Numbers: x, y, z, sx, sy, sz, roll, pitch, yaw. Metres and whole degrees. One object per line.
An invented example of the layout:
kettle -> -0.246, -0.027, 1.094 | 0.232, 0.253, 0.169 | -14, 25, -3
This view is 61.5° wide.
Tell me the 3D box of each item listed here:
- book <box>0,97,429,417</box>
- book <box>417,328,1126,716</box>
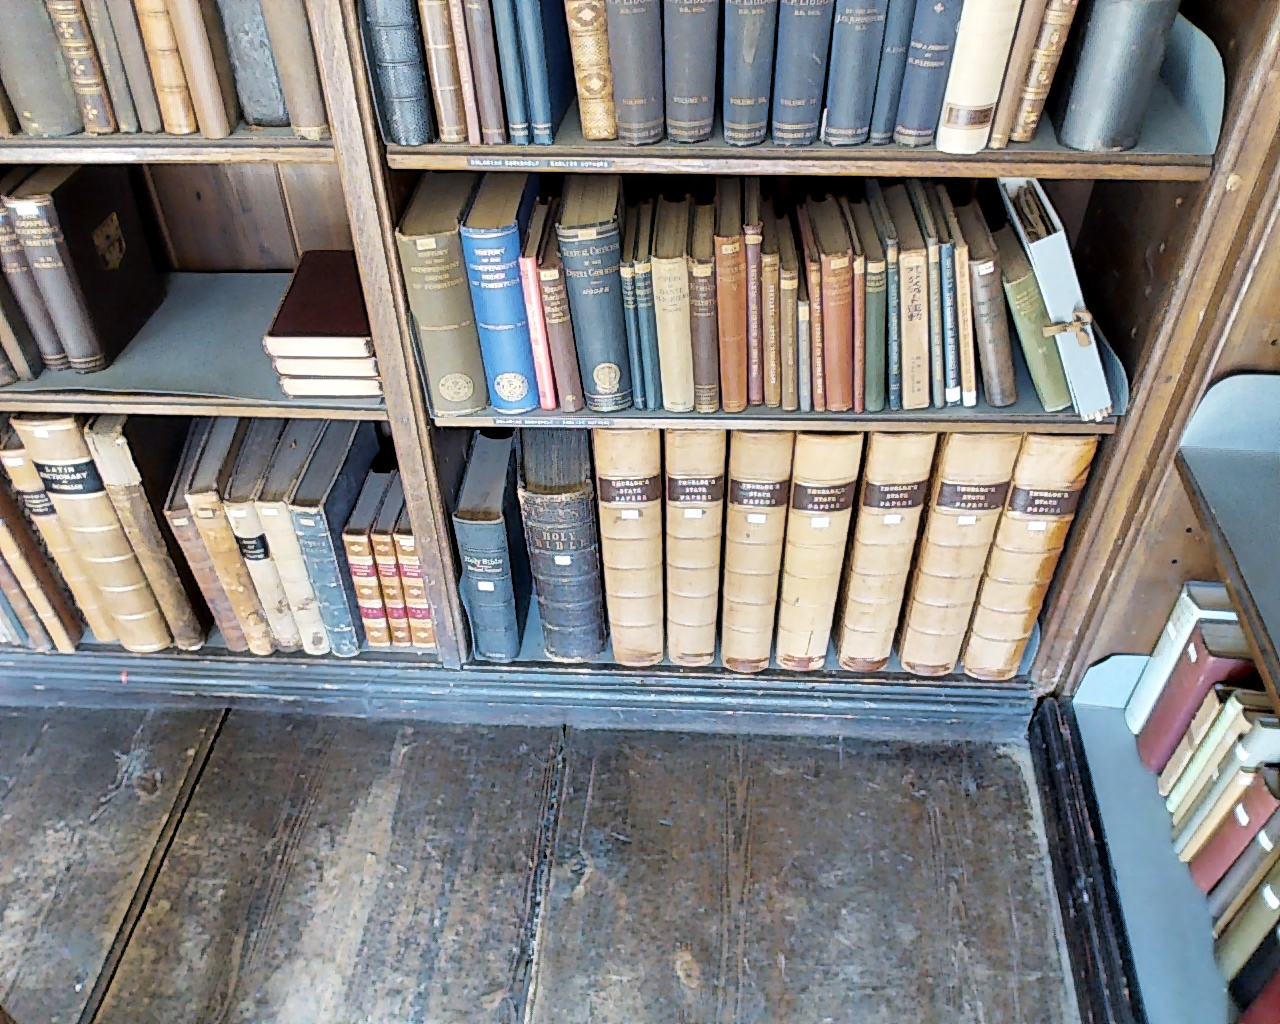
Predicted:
book -> -0.670, -0.290, 1.220 | 0.790, 0.280, 0.210 | 1, 42, 2
book -> 0.150, 0.020, 1.440 | 0.790, 0.440, 0.240 | 2, 42, 3
